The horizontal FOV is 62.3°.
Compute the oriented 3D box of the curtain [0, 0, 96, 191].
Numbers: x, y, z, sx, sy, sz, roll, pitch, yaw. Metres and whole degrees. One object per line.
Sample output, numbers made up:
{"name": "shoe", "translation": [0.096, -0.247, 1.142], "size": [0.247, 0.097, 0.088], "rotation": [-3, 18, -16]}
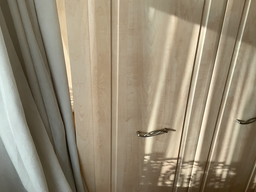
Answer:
{"name": "curtain", "translation": [-0.390, -0.160, 0.500], "size": [0.200, 1.840, 0.610], "rotation": [20, 31, 33]}
